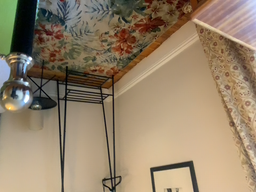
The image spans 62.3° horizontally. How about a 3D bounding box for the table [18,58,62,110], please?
[{"bbox_3d":[-1.030,-0.120,2.490,0.390,0.440,0.400,8,155,-33],"label":"table"}]
